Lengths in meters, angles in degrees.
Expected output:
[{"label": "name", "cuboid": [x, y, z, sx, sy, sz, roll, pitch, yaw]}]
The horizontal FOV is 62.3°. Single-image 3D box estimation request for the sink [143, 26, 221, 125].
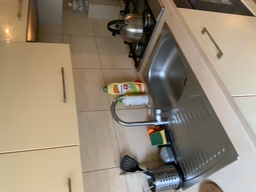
[{"label": "sink", "cuboid": [0.270, -0.110, 1.220, 0.380, 0.150, 0.410, 113, 148, -51]}]
